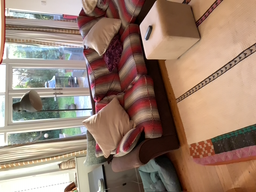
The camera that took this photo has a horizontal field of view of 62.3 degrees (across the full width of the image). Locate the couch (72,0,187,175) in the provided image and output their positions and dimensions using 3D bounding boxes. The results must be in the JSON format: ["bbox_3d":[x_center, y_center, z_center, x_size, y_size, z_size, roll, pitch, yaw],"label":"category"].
[{"bbox_3d":[-0.180,-0.410,3.070,1.090,0.830,2.780,135,128,-59],"label":"couch"}]
